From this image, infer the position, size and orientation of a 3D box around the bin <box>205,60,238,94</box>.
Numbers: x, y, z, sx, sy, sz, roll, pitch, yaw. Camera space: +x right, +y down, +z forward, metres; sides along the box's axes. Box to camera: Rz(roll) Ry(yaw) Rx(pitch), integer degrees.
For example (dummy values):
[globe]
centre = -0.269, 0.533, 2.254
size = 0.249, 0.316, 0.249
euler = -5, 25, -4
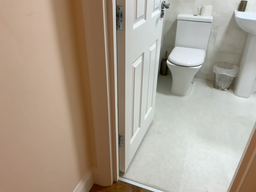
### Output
[bin]
centre = 1.100, -0.230, 2.520
size = 0.280, 0.280, 0.270
euler = 11, 34, 16
